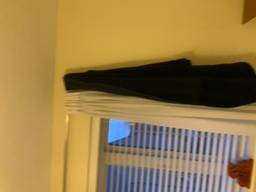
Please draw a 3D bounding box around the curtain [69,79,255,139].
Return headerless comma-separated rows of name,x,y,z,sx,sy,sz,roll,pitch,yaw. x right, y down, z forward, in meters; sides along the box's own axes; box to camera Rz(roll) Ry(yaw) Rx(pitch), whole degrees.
curtain,0.690,0.100,1.380,0.200,2.140,0.290,-34,-52,-83
